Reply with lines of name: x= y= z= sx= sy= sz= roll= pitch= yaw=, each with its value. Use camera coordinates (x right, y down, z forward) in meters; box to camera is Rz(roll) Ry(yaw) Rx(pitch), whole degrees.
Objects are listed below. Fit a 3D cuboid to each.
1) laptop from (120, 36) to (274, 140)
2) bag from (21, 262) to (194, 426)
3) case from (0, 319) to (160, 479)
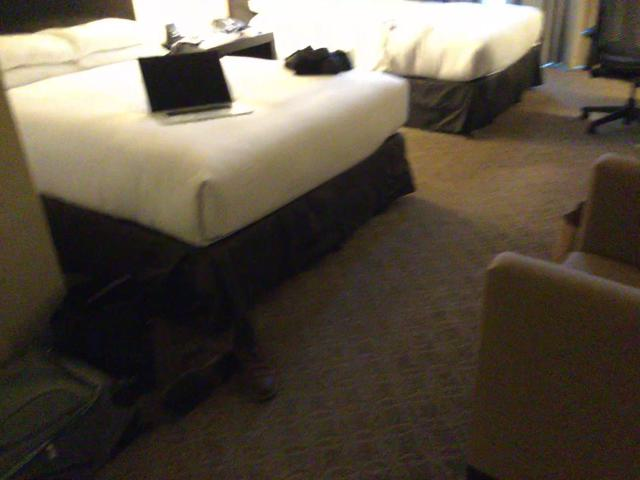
laptop: x=-0.500 y=-0.630 z=2.320 sx=0.470 sy=0.230 sz=0.460 roll=-18 pitch=32 yaw=-19
bag: x=-0.670 y=0.320 z=1.870 sx=0.330 sy=0.320 sz=0.320 roll=12 pitch=35 yaw=29
case: x=-0.830 y=0.560 z=1.500 sx=0.380 sy=0.280 sz=0.690 roll=12 pitch=35 yaw=29
